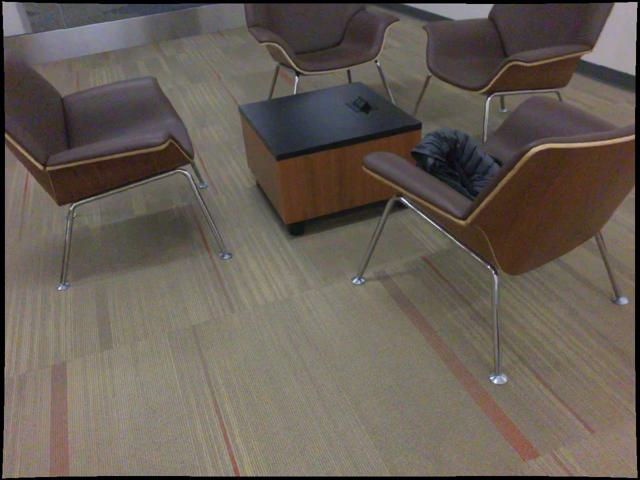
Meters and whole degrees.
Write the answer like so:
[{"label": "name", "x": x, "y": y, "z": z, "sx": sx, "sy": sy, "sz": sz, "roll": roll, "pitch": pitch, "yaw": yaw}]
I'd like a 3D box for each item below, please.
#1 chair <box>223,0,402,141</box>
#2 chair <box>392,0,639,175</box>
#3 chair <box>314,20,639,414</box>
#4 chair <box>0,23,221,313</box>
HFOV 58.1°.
[{"label": "chair", "x": -0.060, "y": -1.193, "z": 3.520, "sx": 0.838, "sy": 0.761, "sz": 0.780, "roll": -16, "pitch": 35, "yaw": -13}, {"label": "chair", "x": 0.948, "y": -0.942, "z": 3.000, "sx": 0.808, "sy": 0.731, "sz": 0.880, "roll": -17, "pitch": 35, "yaw": -15}, {"label": "chair", "x": 0.598, "y": -0.160, "z": 1.850, "sx": 0.889, "sy": 0.751, "sz": 0.780, "roll": -24, "pitch": 38, "yaw": -25}, {"label": "chair", "x": -0.928, "y": -0.351, "z": 2.390, "sx": 0.738, "sy": 0.771, "sz": 0.850, "roll": -16, "pitch": 35, "yaw": -14}]
